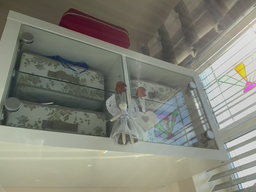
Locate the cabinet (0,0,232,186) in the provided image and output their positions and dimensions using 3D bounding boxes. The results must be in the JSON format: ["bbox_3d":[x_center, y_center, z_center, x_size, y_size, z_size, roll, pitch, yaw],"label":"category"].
[{"bbox_3d":[-0.090,0.070,0.820,0.800,0.440,0.380,13,-38,-28],"label":"cabinet"}]
